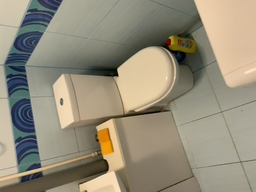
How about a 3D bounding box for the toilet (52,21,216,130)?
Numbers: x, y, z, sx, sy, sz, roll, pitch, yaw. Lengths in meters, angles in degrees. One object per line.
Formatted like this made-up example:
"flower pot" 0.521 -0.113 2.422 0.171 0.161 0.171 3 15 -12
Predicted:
"toilet" 0.040 -0.080 1.460 0.670 0.840 0.370 -28 71 45
